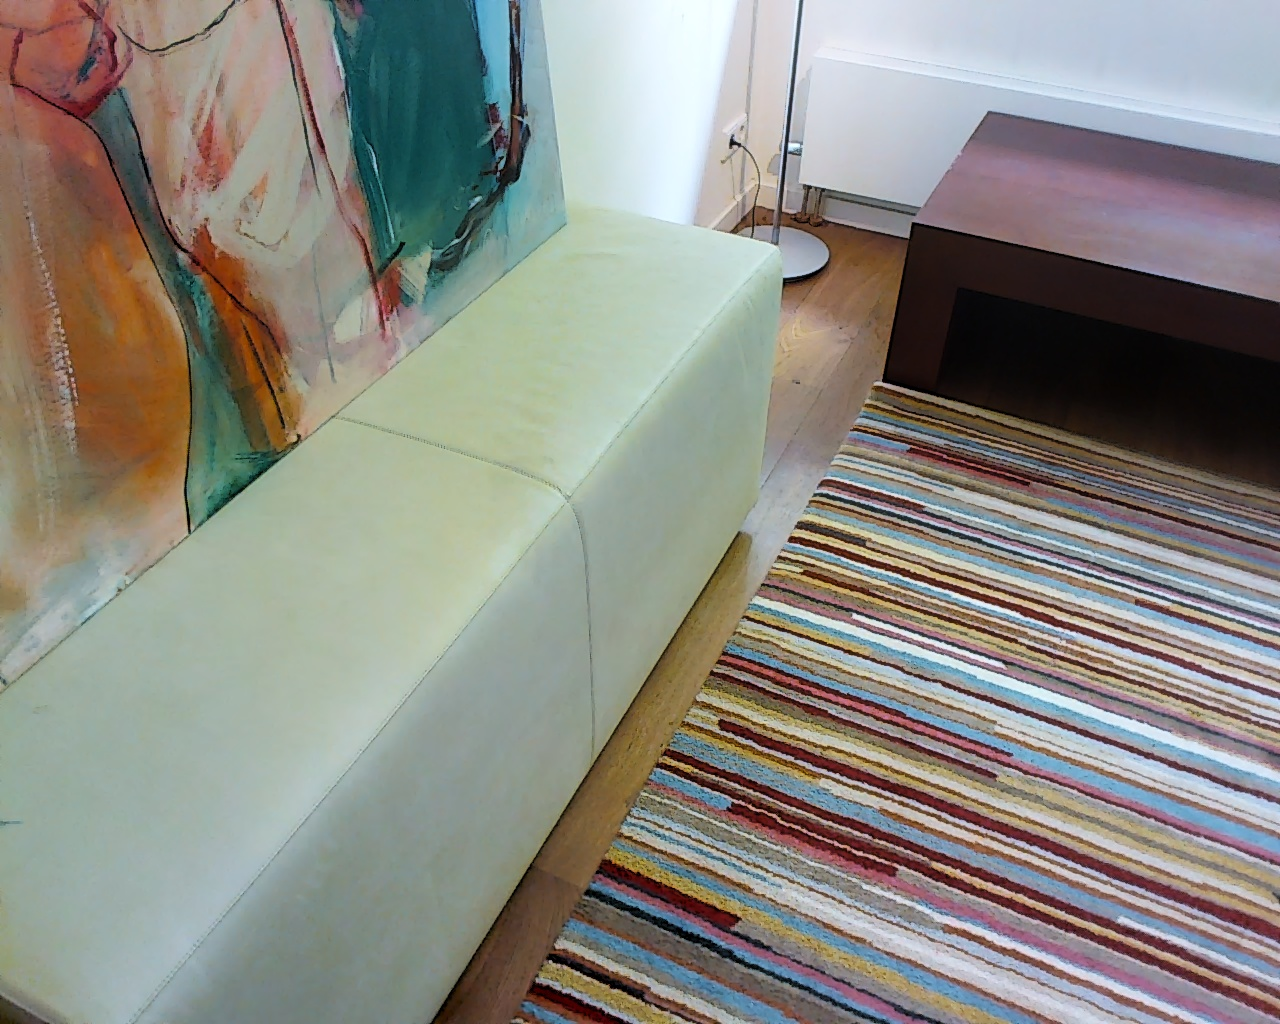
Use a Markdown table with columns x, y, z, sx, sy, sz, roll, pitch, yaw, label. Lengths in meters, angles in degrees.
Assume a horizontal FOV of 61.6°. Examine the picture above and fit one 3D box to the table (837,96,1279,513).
| x | y | z | sx | sy | sz | roll | pitch | yaw | label |
| --- | --- | --- | --- | --- | --- | --- | --- | --- | --- |
| 1.330 | -0.440 | 2.360 | 1.550 | 0.430 | 0.790 | 19 | 44 | 20 | table |
